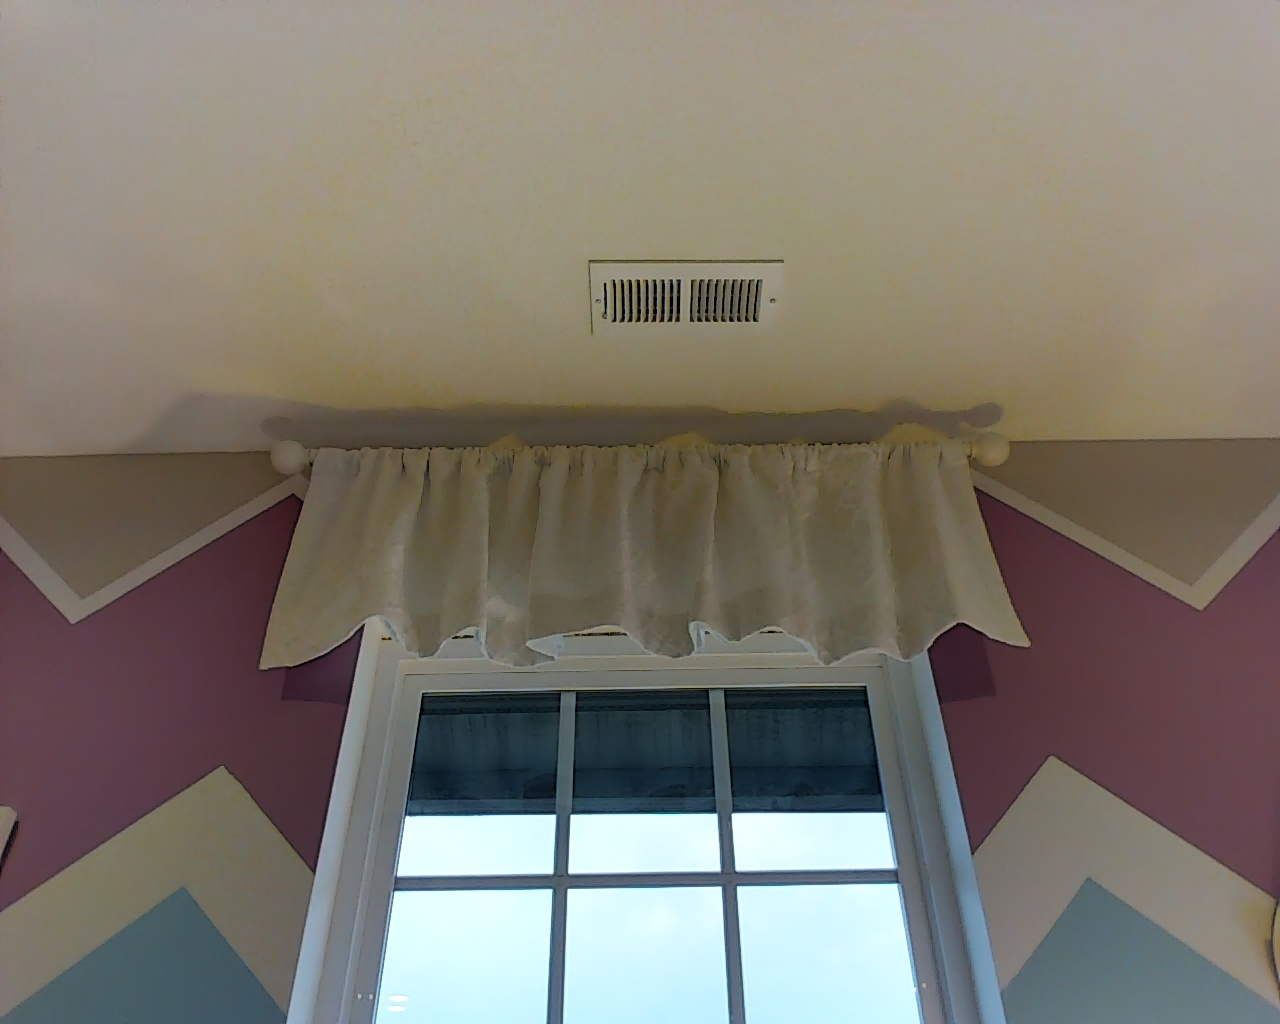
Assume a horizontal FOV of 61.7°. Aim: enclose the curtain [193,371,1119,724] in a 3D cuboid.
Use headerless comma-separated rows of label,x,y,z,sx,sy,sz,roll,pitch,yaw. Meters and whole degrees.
curtain,0.030,0.030,1.730,1.320,0.500,0.120,5,-41,4
